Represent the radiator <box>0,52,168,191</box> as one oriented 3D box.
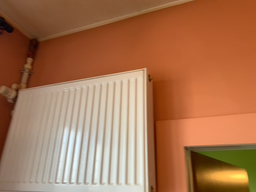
[{"bbox_3d":[-0.240,0.150,0.940,0.790,0.530,0.150,-8,-27,22],"label":"radiator"}]
